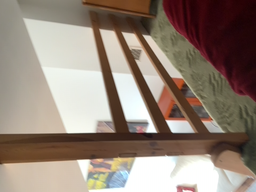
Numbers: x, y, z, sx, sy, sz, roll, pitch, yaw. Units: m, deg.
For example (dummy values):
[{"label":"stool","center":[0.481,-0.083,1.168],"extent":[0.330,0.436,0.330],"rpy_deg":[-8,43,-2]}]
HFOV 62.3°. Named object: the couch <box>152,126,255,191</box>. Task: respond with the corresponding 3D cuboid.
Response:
[{"label":"couch","center":[1.390,1.780,4.400],"extent":[1.070,0.870,2.210],"rpy_deg":[-109,28,-48]}]
